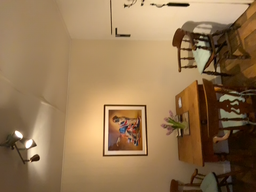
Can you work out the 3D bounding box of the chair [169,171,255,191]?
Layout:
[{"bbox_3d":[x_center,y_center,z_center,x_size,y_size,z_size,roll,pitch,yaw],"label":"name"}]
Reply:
[{"bbox_3d":[1.040,1.270,2.660,0.530,0.870,0.540,97,172,-63],"label":"chair"}]

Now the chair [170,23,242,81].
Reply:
[{"bbox_3d":[1.080,-0.640,3.110,0.540,0.730,0.630,95,174,-57],"label":"chair"}]
